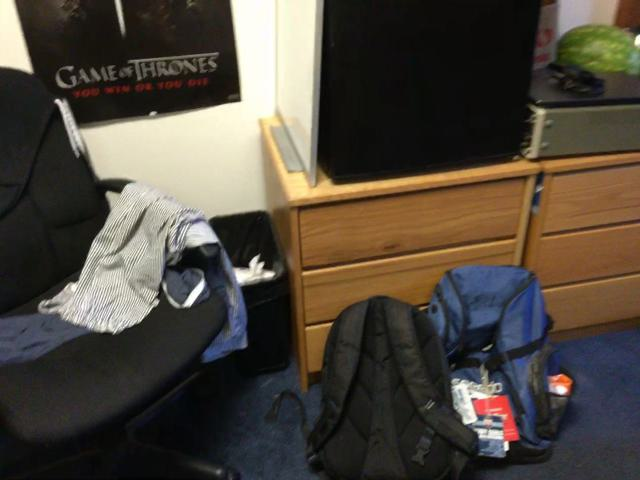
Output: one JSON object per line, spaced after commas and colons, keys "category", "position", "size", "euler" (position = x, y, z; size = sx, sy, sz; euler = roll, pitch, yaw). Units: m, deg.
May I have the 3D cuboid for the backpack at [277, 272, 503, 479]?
{"category": "backpack", "position": [0.150, 0.390, 1.480], "size": [0.420, 0.380, 0.440], "euler": [-9, 30, -9]}

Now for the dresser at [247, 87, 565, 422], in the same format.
{"category": "dresser", "position": [0.200, -0.010, 1.830], "size": [0.700, 0.690, 0.720], "euler": [-9, 30, -9]}

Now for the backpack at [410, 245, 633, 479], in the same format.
{"category": "backpack", "position": [0.500, 0.320, 1.570], "size": [0.380, 0.410, 0.410], "euler": [-9, 30, -9]}
